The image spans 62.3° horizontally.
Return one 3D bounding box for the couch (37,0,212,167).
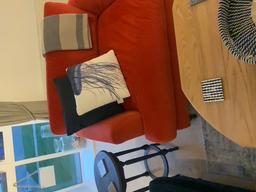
[{"bbox_3d":[-0.130,-0.300,1.720,1.040,0.830,1.380,-13,82,55],"label":"couch"}]
